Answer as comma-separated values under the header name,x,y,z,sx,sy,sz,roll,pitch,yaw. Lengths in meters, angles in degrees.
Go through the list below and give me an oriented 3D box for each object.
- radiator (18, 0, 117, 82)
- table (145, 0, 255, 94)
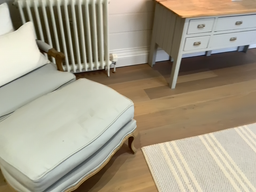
name,x,y,z,sx,sy,sz,roll,pitch,yaw
radiator,-0.520,-0.550,2.060,0.800,0.750,0.160,-9,39,-15
table,1.060,-0.640,2.340,1.540,0.790,0.650,-9,39,-15
